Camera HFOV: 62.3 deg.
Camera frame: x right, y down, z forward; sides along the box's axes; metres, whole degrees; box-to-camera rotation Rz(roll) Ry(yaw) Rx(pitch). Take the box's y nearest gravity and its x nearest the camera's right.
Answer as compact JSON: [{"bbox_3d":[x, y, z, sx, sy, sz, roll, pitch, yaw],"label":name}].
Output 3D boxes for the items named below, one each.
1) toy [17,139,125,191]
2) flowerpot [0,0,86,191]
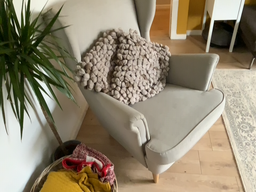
[{"bbox_3d":[-0.280,0.550,1.110,0.400,0.380,0.440,7,41,14],"label":"toy"},{"bbox_3d":[-0.500,0.080,1.120,0.260,1.100,0.300,5,41,11],"label":"flowerpot"}]
